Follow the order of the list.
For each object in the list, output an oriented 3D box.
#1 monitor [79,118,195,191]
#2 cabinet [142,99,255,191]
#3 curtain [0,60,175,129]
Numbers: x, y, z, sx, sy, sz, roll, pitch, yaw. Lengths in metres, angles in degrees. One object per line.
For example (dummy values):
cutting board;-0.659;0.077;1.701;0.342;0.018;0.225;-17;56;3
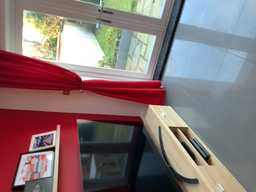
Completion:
monitor;0.040;0.640;1.960;1.440;0.880;0.080;-121;40;-60
cabinet;0.590;0.640;2.170;1.570;0.290;0.560;-121;40;-60
curtain;-0.550;0.030;2.880;0.340;2.320;0.680;-118;37;-58
